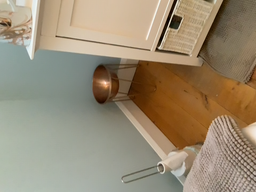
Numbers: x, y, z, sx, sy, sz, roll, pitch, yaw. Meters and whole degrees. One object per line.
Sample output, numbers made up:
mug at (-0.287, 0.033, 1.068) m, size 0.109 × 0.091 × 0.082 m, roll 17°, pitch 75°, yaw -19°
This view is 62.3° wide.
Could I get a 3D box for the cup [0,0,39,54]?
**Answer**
cup at (-0.390, -0.220, 0.630) m, size 0.180 × 0.190 × 0.110 m, roll 45°, pitch 127°, yaw 45°
